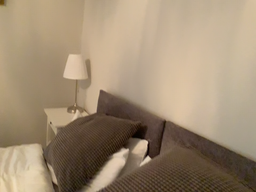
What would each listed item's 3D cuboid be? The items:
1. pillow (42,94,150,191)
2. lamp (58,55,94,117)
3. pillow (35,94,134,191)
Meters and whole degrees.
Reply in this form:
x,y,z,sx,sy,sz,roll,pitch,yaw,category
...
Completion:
x,y,z,sx,sy,sz,roll,pitch,yaw,category
-0.200,0.300,1.150,0.260,0.290,0.670,-28,39,-21,pillow
-0.490,-0.100,1.970,0.240,0.520,0.240,0,14,-30,lamp
-0.220,0.260,1.070,0.170,0.360,0.450,-40,48,-14,pillow
